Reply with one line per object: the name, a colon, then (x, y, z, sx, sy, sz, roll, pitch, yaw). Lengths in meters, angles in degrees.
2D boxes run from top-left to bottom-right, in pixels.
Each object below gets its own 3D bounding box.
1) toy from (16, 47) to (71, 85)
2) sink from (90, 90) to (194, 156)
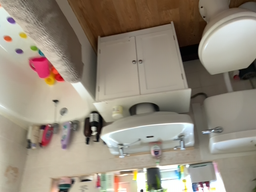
toy: (-0.660, -0.230, 1.700, 0.300, 0.090, 0.300, -8, 149, 7)
sink: (0.100, 0.200, 1.390, 0.580, 0.220, 0.390, -9, 149, 9)
